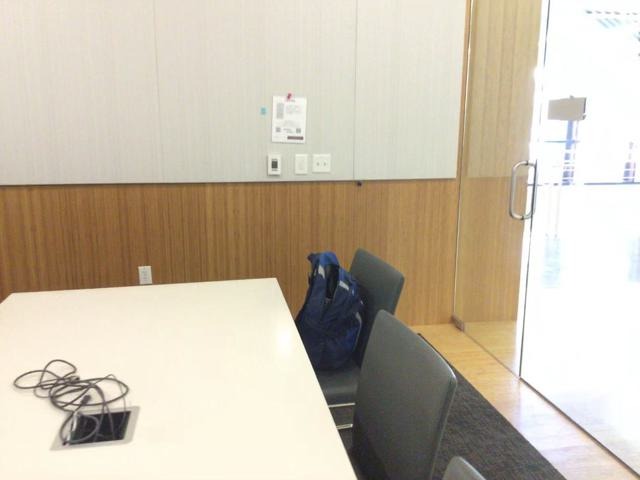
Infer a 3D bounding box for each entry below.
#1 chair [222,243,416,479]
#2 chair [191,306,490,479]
[{"bbox_3d":[-0.040,0.470,2.270,0.620,0.790,0.580,-2,12,-13],"label":"chair"},{"bbox_3d":[0.000,0.660,1.490,0.610,0.810,0.530,-2,12,-13],"label":"chair"}]
